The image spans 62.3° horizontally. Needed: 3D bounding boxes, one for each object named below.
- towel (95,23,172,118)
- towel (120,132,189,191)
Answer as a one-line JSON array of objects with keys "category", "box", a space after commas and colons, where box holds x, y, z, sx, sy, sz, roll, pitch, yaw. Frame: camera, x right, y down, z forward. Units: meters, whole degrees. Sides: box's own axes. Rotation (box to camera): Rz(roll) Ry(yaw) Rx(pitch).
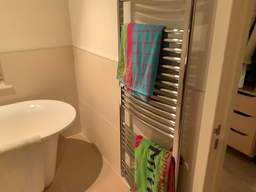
[{"category": "towel", "box": [0.010, -0.180, 1.250, 0.140, 0.450, 0.490, -17, 28, -35]}, {"category": "towel", "box": [0.140, 0.570, 1.330, 0.160, 0.540, 0.400, -18, 28, -35]}]
